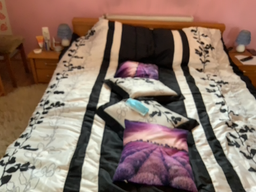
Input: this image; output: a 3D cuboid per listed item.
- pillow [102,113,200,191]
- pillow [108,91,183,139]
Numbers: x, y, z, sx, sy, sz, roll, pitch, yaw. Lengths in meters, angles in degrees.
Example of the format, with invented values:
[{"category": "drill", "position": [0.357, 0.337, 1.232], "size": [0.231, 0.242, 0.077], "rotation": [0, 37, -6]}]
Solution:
[{"category": "pillow", "position": [0.100, 0.280, 1.110], "size": [0.420, 0.140, 0.410], "rotation": [3, 34, 0]}, {"category": "pillow", "position": [0.110, 0.120, 1.440], "size": [0.450, 0.150, 0.290], "rotation": [4, 34, 1]}]
